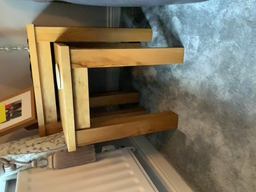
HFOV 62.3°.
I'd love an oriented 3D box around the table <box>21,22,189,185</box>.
[{"bbox_3d":[-0.200,-0.090,1.180,0.810,0.600,0.570,-139,47,-60],"label":"table"}]
